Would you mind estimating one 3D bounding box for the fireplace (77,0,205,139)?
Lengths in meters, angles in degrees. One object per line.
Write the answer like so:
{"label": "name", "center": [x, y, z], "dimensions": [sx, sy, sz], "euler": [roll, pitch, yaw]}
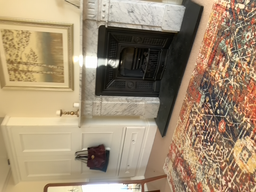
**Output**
{"label": "fireplace", "center": [-0.010, -0.350, 2.790], "dimensions": [0.740, 1.240, 1.770], "euler": [-107, 22, -55]}
